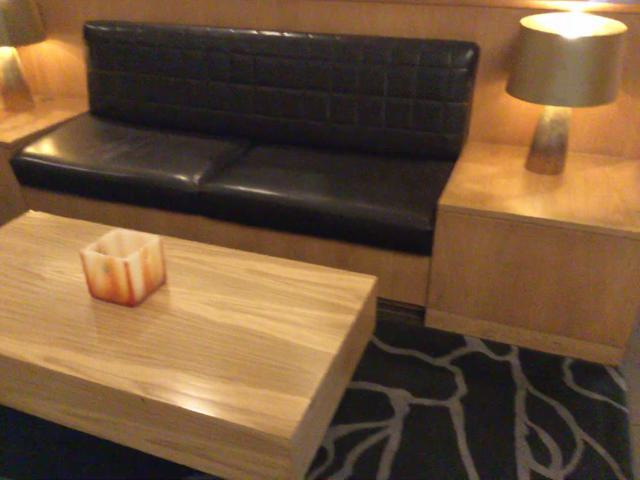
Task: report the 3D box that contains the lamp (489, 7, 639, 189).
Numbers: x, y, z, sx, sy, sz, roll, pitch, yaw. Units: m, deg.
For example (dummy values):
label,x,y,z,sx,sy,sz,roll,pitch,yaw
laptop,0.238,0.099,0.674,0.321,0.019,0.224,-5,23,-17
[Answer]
label,x,y,z,sx,sy,sz,roll,pitch,yaw
lamp,0.830,-0.510,2.010,0.370,0.520,0.380,10,27,15

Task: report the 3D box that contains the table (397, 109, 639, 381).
label,x,y,z,sx,sy,sz,roll,pitch,yaw
table,0.760,-0.040,2.120,0.770,0.660,0.670,10,27,15

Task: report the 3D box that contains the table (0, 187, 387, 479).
label,x,y,z,sx,sy,sz,roll,pitch,yaw
table,-0.580,0.300,1.630,1.380,0.530,0.660,10,27,15

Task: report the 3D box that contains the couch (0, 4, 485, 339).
label,x,y,z,sx,sy,sz,roll,pitch,yaw
couch,-0.450,-0.400,2.450,2.040,0.970,0.740,10,27,15
